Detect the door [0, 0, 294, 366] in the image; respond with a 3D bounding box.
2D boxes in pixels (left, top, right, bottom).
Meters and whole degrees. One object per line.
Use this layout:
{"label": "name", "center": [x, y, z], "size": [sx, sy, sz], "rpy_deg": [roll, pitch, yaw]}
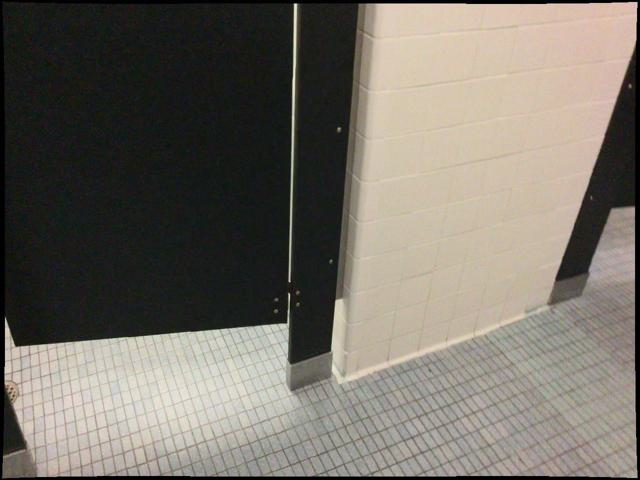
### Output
{"label": "door", "center": [-0.399, -0.110, 1.230], "size": [0.678, 0.862, 0.080], "rpy_deg": [-5, 34, -10]}
